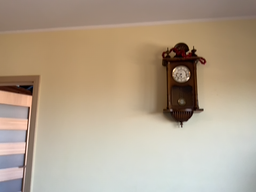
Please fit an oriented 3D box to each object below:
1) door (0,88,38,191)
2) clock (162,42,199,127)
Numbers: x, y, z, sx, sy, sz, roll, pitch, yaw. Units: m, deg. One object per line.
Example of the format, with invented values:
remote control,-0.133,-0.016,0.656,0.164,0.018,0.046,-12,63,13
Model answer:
door,-1.550,0.910,2.420,0.080,2.010,0.980,-4,-10,28
clock,0.430,-0.090,1.780,0.270,0.690,0.130,-1,-9,10
